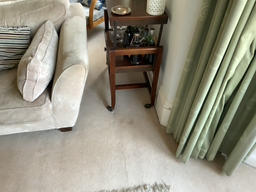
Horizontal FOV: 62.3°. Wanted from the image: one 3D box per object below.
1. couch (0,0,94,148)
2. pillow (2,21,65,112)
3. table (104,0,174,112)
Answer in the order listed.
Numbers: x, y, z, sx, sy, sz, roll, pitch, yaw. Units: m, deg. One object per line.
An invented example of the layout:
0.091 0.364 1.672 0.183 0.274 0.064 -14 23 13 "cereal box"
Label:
-1.480 -0.230 1.660 2.330 0.820 1.050 -4 45 -6 "couch"
-0.650 -0.230 1.570 0.150 0.390 0.550 -16 45 6 "pillow"
0.030 -0.420 1.870 0.410 0.860 0.700 -5 45 -7 "table"
